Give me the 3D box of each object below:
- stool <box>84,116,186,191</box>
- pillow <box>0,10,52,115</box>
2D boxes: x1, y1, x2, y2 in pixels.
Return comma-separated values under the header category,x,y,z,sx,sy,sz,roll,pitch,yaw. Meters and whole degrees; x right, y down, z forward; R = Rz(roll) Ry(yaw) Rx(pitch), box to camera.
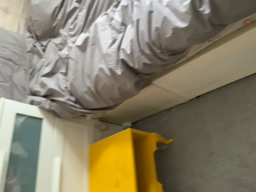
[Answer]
category,x,y,z,sx,sy,sz,roll,pitch,yaw
stool,0.030,0.440,1.290,0.410,0.430,0.450,-29,55,37
pillow,-0.810,-0.260,1.470,0.100,0.380,0.700,-17,39,21
